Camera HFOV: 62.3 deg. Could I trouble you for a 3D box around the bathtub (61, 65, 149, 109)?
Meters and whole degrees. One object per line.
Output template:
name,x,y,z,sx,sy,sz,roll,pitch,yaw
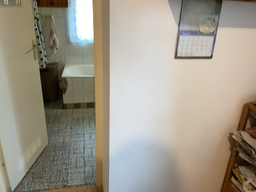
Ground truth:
bathtub,-0.400,-0.190,3.610,1.340,0.500,0.660,-2,23,-12
